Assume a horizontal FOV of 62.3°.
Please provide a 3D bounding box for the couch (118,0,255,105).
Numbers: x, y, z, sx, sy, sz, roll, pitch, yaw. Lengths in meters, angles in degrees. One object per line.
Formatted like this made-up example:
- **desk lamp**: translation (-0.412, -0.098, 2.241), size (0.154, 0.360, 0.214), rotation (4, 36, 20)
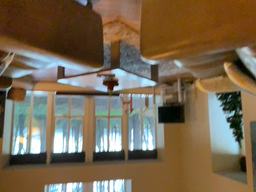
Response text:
- **couch**: translation (0.930, -0.390, 1.980), size (1.160, 0.760, 1.830), rotation (-6, 171, 34)

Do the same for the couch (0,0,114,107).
- **couch**: translation (-1.200, -0.370, 1.890), size (1.870, 0.760, 1.100), rotation (-6, 171, 36)
